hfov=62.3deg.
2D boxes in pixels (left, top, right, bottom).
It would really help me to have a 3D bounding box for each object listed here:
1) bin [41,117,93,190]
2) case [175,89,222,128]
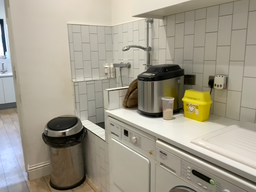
[{"bbox_3d":[-0.660,0.590,2.290,0.410,0.580,0.370,-8,14,-32],"label":"bin"},{"bbox_3d":[0.510,0.080,1.550,0.210,0.210,0.230,-8,14,-33],"label":"case"}]
